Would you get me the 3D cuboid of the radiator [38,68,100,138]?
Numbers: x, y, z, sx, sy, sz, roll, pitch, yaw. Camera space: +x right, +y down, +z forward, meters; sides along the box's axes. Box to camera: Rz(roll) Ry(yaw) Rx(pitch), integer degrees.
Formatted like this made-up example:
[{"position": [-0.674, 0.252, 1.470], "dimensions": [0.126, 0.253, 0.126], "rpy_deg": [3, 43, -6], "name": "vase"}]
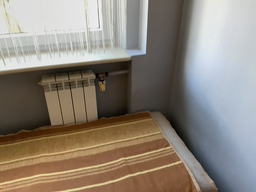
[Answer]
[{"position": [-0.400, 0.050, 1.490], "dimensions": [0.350, 0.420, 0.140], "rpy_deg": [-11, 32, -18], "name": "radiator"}]
